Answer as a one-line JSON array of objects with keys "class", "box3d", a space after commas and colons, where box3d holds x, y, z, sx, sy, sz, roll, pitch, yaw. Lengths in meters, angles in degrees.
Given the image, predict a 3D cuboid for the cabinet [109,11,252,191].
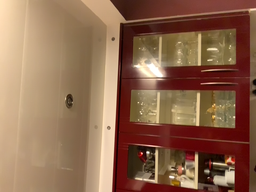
[{"class": "cabinet", "box3d": [0.370, 0.280, 1.580, 0.390, 0.890, 1.610, 15, -103, -71]}]
